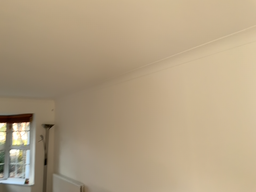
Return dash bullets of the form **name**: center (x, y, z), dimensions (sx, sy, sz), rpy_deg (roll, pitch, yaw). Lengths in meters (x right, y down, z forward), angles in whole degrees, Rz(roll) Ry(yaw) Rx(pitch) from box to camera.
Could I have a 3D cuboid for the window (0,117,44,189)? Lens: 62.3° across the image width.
- **window**: center (-3.050, 1.110, 4.190), dimensions (2.380, 1.340, 1.000), rpy_deg (4, -10, -34)
